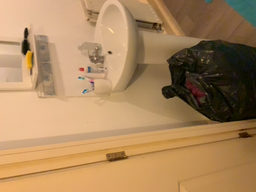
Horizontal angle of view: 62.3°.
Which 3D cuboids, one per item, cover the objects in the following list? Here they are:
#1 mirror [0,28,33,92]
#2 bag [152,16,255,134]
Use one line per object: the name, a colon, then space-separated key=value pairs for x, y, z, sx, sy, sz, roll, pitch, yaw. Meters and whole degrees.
mirror: x=-0.750 y=-0.210 z=1.140 sx=0.050 sy=0.410 sz=0.440 roll=-57 pitch=43 yaw=46
bag: x=0.540 y=-0.120 z=1.360 sx=0.460 sy=0.460 sz=0.520 roll=-59 pitch=42 yaw=45
